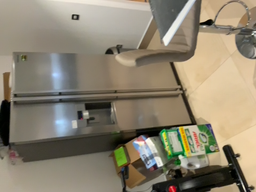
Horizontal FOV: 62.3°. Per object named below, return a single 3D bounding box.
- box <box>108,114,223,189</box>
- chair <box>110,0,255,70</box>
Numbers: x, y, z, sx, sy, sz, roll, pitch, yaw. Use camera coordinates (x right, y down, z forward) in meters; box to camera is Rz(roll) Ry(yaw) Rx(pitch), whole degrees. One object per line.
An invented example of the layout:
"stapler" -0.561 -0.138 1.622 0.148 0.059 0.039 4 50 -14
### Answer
"box" 0.310 0.610 2.250 0.910 0.810 0.420 119 143 -53
"chair" 0.450 -0.430 1.410 0.380 1.060 0.470 -150 60 -65
